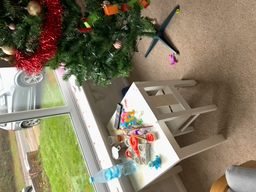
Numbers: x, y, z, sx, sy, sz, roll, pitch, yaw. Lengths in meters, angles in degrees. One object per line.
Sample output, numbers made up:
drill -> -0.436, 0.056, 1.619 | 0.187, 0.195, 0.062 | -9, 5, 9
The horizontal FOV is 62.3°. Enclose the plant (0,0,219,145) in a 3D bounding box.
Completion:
plant -> -0.530, -0.390, 1.370 | 0.940, 1.750, 0.960 | 62, 140, 27

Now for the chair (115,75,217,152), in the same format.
chair -> 0.250, 0.100, 1.430 | 0.290, 0.510, 0.350 | 58, 138, 30
